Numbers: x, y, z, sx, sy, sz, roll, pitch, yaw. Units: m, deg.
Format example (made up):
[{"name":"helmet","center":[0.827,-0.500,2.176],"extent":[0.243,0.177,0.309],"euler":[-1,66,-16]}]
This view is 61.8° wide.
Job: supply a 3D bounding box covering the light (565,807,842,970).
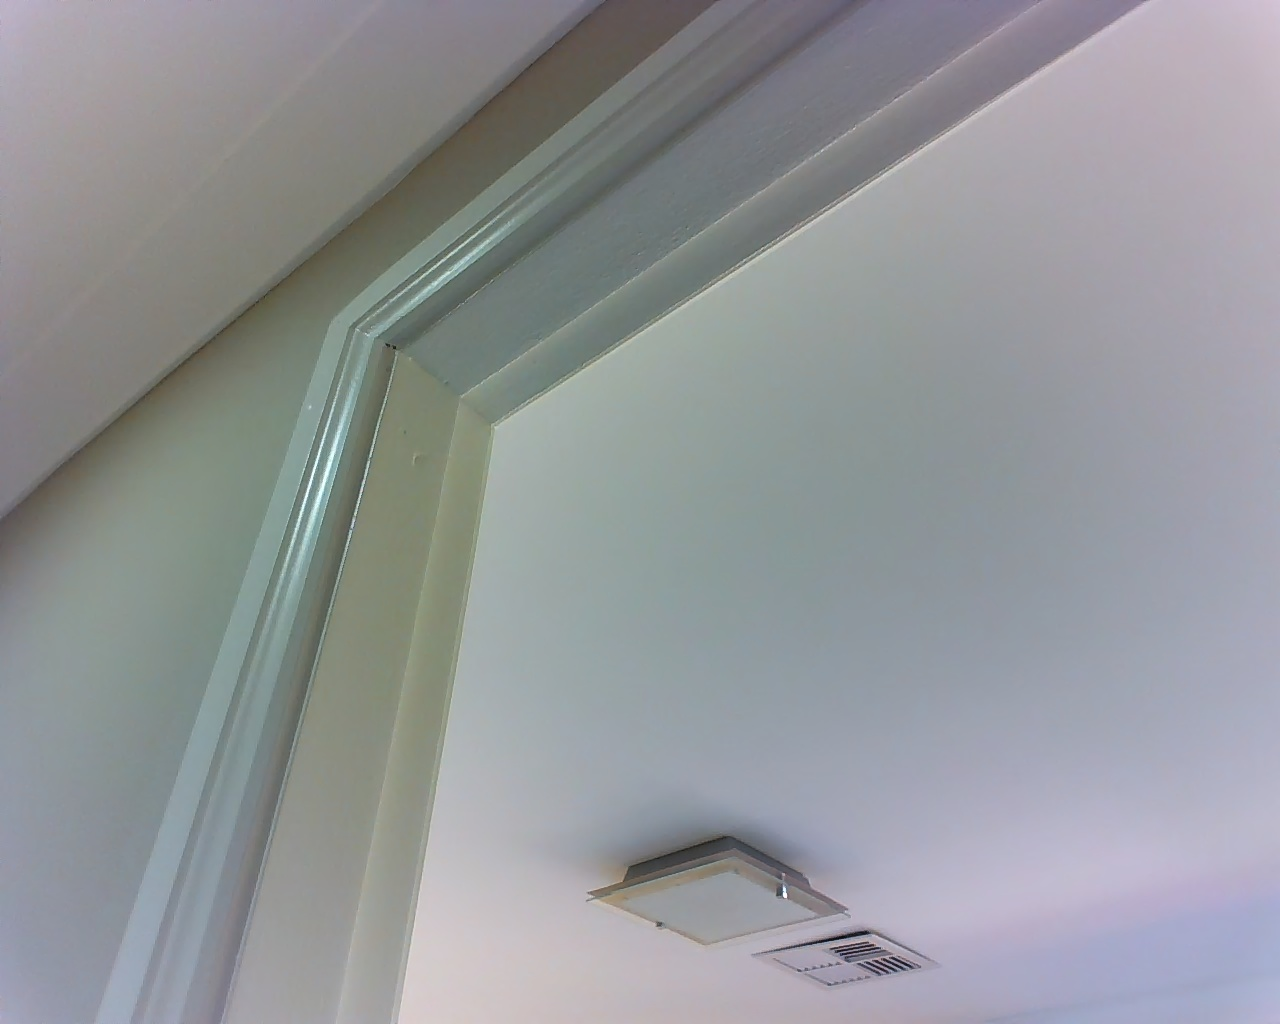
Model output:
[{"name":"light","center":[0.130,0.790,2.210],"extent":[0.430,0.130,0.360],"euler":[-27,-49,30]}]
